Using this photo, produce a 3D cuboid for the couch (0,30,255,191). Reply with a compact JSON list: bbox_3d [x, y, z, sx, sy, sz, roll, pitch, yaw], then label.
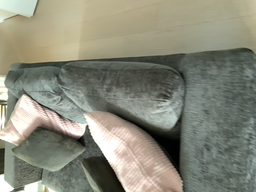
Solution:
[{"bbox_3d":[-0.170,0.290,1.380,1.760,0.750,1.040,6,93,39],"label":"couch"}]
